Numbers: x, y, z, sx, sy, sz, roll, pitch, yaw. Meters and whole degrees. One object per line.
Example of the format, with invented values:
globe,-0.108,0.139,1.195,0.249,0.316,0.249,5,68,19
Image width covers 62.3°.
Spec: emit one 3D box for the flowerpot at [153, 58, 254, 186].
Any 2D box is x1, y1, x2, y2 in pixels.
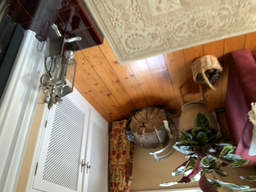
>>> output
flowerpot,0.580,0.230,1.770,0.540,0.840,0.510,-14,145,17
